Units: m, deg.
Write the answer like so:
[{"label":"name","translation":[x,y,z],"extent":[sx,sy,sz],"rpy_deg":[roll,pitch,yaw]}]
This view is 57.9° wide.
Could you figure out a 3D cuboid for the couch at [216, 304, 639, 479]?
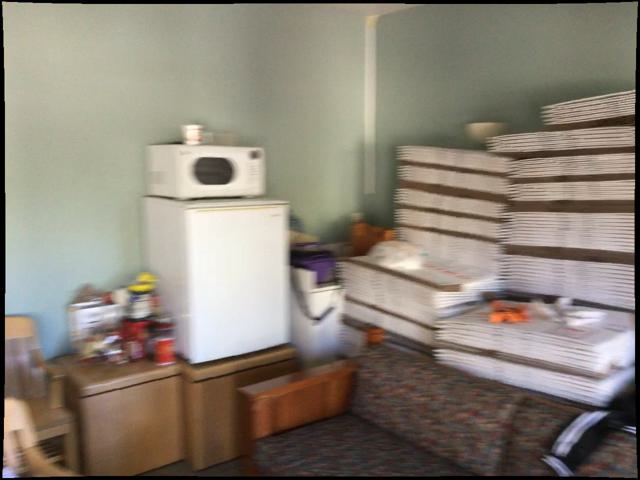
[{"label":"couch","translation":[0.529,0.941,2.090],"extent":[0.979,0.821,1.919],"rpy_deg":[-9,14,-36]}]
